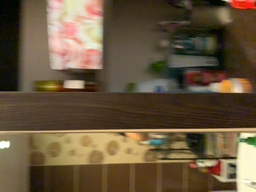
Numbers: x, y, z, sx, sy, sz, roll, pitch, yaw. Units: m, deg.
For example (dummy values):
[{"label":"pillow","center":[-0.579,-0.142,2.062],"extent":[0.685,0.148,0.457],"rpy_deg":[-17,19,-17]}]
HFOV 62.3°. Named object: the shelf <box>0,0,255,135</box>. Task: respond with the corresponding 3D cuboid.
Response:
[{"label":"shelf","center":[0.080,-0.140,0.560],"extent":[0.330,1.130,0.420],"rpy_deg":[-179,90,-84]}]
